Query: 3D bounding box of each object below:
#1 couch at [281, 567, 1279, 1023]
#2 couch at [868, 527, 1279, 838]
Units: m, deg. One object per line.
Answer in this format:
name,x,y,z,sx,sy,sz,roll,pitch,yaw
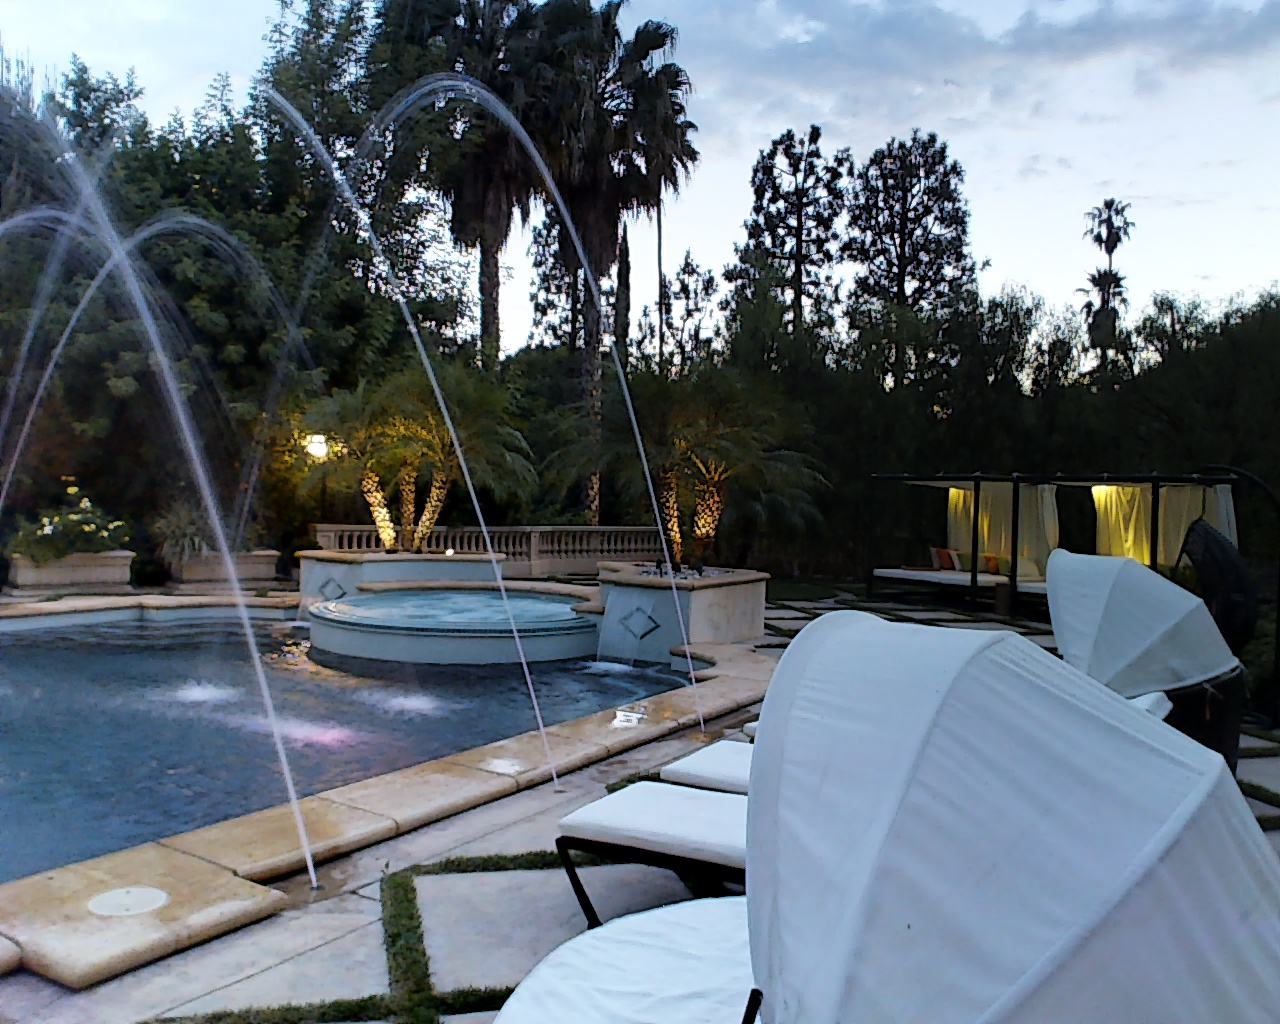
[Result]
couch,0.540,0.890,2.420,1.880,1.360,1.880,2,1,43
couch,2.659,0.850,6.490,1.890,1.430,1.770,2,1,37
